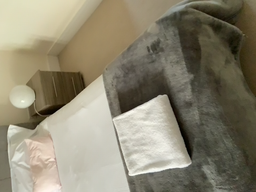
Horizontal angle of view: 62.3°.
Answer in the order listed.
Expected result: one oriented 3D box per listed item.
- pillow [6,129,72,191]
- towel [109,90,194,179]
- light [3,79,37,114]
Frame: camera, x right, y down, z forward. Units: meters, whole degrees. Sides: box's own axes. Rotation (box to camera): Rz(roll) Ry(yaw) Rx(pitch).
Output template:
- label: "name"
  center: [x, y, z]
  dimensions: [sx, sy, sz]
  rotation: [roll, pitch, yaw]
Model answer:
- label: "pillow"
  center: [-0.820, 0.630, 1.990]
  dimensions: [0.130, 0.270, 0.560]
  rotation: [-31, 98, 44]
- label: "towel"
  center: [0.090, 0.210, 1.090]
  dimensions: [0.380, 0.090, 0.360]
  rotation: [-31, 70, 43]
- label: "light"
  center: [-1.160, 0.010, 2.270]
  dimensions: [0.320, 0.220, 0.260]
  rotation: [-31, 70, 43]
